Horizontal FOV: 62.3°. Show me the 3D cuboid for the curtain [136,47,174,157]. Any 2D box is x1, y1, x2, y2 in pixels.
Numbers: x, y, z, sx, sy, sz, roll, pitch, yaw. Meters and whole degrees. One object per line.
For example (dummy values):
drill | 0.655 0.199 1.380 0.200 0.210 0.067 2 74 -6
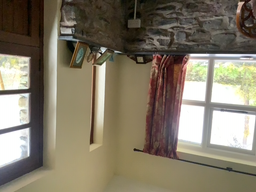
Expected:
curtain | 0.330 0.060 2.610 0.330 1.280 0.220 6 -173 25
